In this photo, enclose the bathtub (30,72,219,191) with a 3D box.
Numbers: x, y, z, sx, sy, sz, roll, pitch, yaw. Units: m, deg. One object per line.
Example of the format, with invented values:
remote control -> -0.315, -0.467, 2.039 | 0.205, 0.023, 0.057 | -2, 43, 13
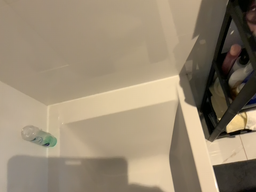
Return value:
bathtub -> 0.040, 0.700, 1.020 | 0.780, 0.570, 1.390 | -10, 68, 10
